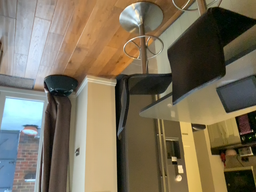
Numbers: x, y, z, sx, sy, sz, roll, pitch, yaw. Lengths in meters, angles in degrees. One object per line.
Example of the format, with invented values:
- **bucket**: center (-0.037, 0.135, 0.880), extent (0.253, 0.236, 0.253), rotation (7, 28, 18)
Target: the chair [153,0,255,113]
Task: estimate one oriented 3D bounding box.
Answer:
- **chair**: center (0.470, -0.460, 1.310), extent (0.430, 1.010, 0.410), rotation (10, 155, -29)
